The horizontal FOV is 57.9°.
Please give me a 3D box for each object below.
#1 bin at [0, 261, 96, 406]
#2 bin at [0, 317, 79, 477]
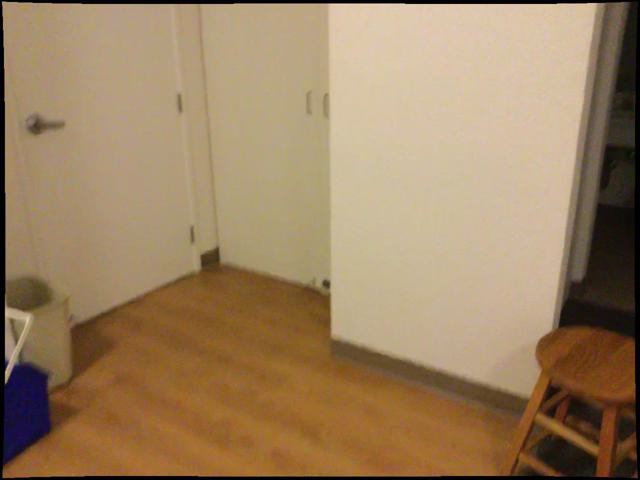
[{"bbox_3d":[-1.219,0.370,2.410,0.420,0.420,0.280,13,26,33],"label":"bin"},{"bbox_3d":[-1.159,0.561,2.010,0.340,0.360,0.420,13,26,33],"label":"bin"}]
